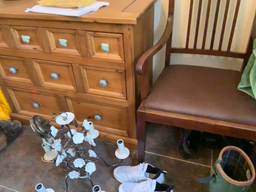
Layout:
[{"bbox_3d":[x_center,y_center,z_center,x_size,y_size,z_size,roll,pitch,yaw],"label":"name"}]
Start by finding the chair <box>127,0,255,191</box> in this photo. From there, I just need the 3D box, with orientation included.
[{"bbox_3d":[0.390,-0.120,1.060,0.600,1.020,0.570,10,38,16],"label":"chair"}]

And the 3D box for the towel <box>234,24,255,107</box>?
[{"bbox_3d":[0.610,-0.150,0.990,0.130,0.250,0.340,9,38,16],"label":"towel"}]
